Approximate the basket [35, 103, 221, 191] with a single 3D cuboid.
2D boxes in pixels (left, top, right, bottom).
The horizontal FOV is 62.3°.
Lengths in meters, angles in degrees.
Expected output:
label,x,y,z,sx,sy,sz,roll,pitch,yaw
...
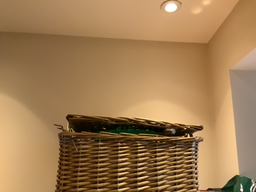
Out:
label,x,y,z,sx,sy,sz,roll,pitch,yaw
basket,-0.010,0.260,0.790,0.430,0.310,0.600,3,-16,-2
